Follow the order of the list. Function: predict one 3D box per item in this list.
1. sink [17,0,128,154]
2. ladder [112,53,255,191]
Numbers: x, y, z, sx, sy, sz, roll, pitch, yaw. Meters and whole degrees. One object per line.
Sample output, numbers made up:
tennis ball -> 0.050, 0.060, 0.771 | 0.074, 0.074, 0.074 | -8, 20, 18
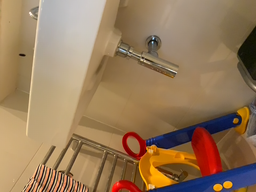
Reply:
sink -> -0.150, -0.190, 0.720 | 0.460, 0.150, 0.620 | -74, 7, -55
ladder -> 0.250, 0.230, 0.880 | 0.470, 0.450, 0.540 | -74, 8, -56
